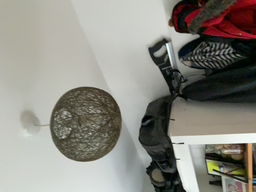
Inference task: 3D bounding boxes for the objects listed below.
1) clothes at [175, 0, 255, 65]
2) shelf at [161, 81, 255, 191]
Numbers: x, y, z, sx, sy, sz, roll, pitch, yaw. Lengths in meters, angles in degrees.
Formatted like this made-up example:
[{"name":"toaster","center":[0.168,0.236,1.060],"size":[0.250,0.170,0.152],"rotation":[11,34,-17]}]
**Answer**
[{"name":"clothes","center":[0.580,-0.370,0.900],"size":[0.300,0.690,0.260],"rotation":[-68,-35,-50]},{"name":"shelf","center":[0.970,0.400,1.330],"size":[0.430,1.290,0.950],"rotation":[-69,-34,-49]}]
